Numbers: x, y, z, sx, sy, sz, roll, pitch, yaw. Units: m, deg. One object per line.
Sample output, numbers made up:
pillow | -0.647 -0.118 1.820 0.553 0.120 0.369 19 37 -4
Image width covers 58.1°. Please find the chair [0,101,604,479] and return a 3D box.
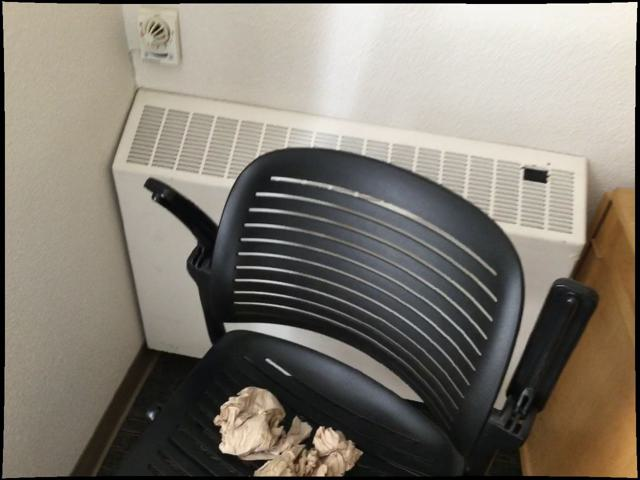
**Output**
chair | -0.070 0.371 0.940 0.589 0.881 0.620 25 42 23

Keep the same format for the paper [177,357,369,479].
paper | -0.070 0.361 0.900 0.259 0.110 0.320 8 38 3

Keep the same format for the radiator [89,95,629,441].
radiator | 0.040 0.100 1.310 0.968 0.711 0.170 8 38 3
